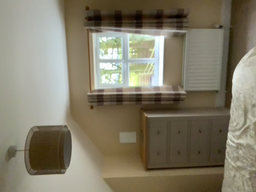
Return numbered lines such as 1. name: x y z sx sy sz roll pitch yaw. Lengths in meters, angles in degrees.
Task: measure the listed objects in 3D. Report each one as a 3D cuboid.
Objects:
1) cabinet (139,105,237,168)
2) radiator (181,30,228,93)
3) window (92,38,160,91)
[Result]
1. cabinet: 0.800 0.550 2.990 0.380 1.250 0.750 -111 20 -80
2. radiator: 1.050 -0.470 2.940 0.090 0.590 0.850 -111 20 -80
3. window: -0.020 -0.480 3.270 0.090 1.010 0.790 -106 16 -77
